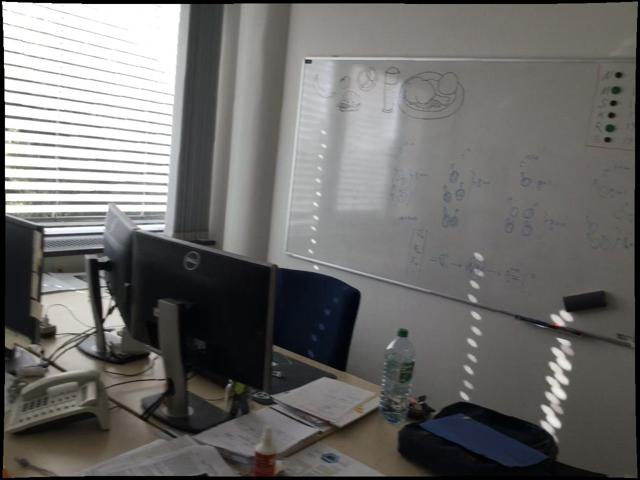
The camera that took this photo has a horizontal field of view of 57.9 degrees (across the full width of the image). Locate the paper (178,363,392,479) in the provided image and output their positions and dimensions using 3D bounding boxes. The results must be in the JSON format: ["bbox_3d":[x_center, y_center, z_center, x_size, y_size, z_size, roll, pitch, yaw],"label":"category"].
[{"bbox_3d":[-0.070,0.511,1.700,0.250,0.050,0.660,15,14,37],"label":"paper"}]

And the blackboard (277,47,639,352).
[{"bbox_3d":[0.619,-0.330,2.890,2.009,1.171,0.110,15,14,36],"label":"blackboard"}]
